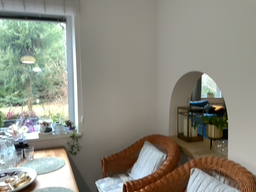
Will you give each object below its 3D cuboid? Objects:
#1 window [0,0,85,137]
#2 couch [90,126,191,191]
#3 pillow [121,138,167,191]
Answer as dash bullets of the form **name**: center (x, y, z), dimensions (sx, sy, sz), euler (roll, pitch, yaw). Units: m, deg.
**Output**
- **window**: center (-1.450, -0.310, 2.410), dimensions (1.860, 1.540, 0.160), euler (-3, 5, -25)
- **couch**: center (0.090, 0.860, 2.110), dimensions (0.740, 0.930, 0.710), euler (-3, 5, -26)
- **pillow**: center (0.140, 0.720, 2.120), dimensions (0.190, 0.480, 0.370), euler (-3, -26, -26)
